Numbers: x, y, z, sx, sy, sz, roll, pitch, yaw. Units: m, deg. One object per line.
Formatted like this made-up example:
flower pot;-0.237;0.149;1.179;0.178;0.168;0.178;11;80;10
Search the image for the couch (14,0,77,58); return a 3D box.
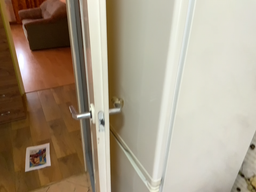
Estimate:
couch;-2.150;-1.890;5.320;0.980;0.970;2.510;-13;34;-25
